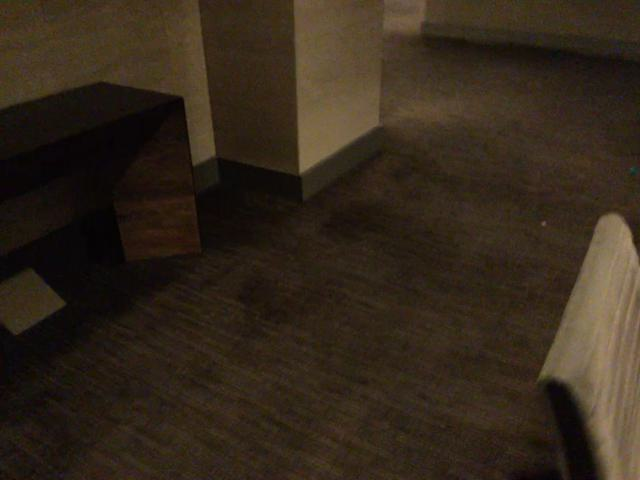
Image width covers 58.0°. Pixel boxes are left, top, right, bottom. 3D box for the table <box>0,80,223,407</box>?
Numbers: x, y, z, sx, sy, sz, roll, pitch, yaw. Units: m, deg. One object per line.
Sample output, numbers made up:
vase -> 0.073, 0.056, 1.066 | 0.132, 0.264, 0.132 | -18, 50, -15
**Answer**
table -> -1.100, 0.040, 1.820 | 0.540, 0.720, 1.680 | 10, 30, 29
